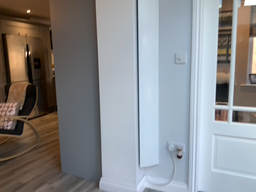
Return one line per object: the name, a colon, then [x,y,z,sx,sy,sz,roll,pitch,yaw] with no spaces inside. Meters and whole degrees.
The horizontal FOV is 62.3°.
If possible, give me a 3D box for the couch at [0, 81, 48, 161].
couch: [-1.820,0.290,3.020,0.780,0.910,0.960,3,10,23]
